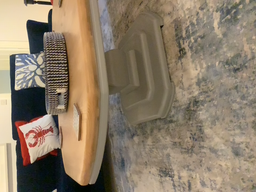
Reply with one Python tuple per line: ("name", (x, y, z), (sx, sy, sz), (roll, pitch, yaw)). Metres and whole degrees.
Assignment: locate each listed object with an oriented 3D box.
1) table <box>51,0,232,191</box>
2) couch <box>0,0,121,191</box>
("table", (-0.120, -0.110, 1.150), (0.980, 0.440, 0.990), (145, 118, -63))
("couch", (-0.740, 0.350, 2.170), (1.120, 0.830, 2.250), (146, 117, -63))
